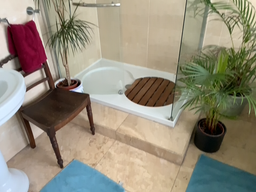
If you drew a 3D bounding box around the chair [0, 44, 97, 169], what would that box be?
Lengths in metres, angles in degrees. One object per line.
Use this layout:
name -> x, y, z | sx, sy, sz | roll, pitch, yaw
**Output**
chair -> -0.620, 0.080, 1.730 | 0.470, 0.810, 0.460 | 15, 38, 22
